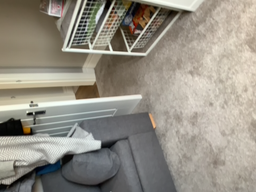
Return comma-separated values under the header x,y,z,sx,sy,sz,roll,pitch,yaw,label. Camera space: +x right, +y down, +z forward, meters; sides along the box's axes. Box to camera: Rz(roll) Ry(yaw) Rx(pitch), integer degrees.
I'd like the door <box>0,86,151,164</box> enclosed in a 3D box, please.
x,y,z,sx,sy,sz,roll,pitch,yaw,label
-0.840,0.280,1.620,0.820,2.010,0.140,-56,49,45,door
